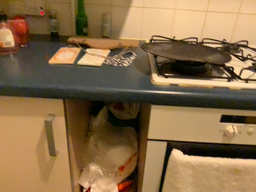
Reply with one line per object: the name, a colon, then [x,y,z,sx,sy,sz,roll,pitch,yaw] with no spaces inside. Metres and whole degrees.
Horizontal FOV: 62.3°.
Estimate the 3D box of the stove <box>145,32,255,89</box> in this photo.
stove: [0.370,-0.160,0.830,0.580,0.030,0.550,4,28,0]
